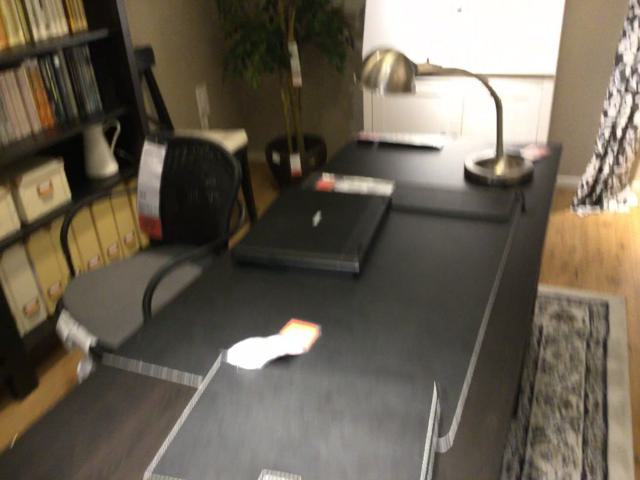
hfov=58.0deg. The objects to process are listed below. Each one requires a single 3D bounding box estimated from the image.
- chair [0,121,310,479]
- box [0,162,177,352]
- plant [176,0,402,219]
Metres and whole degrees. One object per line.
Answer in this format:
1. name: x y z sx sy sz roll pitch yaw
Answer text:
1. chair: -0.440 0.160 1.610 0.550 0.800 0.530 15 33 34
2. box: -1.050 0.010 2.240 0.560 0.340 0.770 8 30 24
3. plant: -0.120 -0.990 2.960 0.880 1.520 0.690 8 30 24
